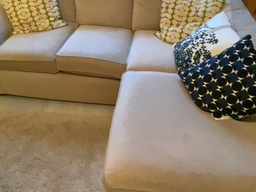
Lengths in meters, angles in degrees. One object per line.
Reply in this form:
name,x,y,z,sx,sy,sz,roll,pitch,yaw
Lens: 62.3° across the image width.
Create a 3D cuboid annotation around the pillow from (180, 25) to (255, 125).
pillow,0.510,-0.080,1.120,0.180,0.370,0.400,2,73,-32
